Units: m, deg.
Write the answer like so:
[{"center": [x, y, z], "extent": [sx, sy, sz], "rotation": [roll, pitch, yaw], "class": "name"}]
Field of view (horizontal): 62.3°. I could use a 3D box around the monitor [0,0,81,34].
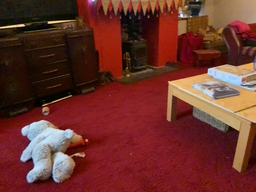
[{"center": [-1.160, -1.220, 2.540], "extent": [1.260, 0.830, 0.060], "rotation": [-21, 29, -39], "class": "monitor"}]
